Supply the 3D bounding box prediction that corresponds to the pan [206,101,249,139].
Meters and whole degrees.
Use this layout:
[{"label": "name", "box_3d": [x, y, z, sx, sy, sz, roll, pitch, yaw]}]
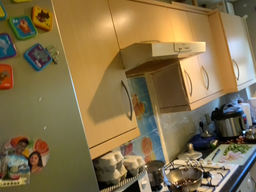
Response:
[{"label": "pan", "box_3d": [0.950, 0.230, 2.020, 0.250, 0.280, 0.260, -12, 2, 44]}]
